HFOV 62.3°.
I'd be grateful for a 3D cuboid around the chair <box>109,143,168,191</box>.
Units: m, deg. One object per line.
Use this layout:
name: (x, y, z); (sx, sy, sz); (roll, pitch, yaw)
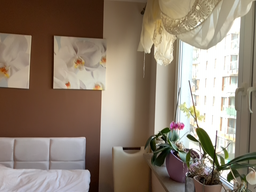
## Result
chair: (0.050, 1.010, 2.050); (0.430, 0.930, 0.700); (2, 2, -8)
